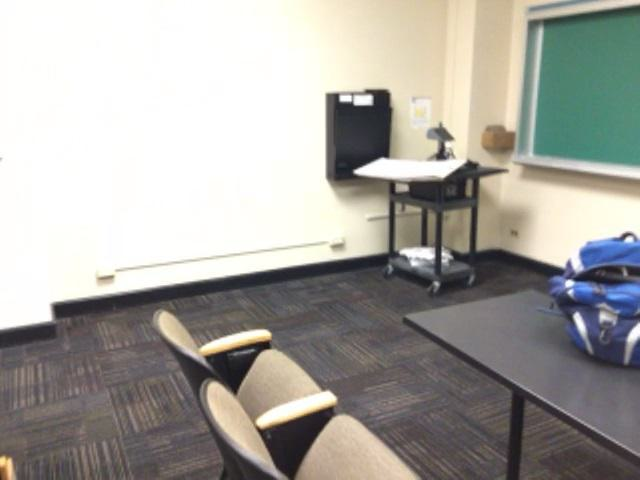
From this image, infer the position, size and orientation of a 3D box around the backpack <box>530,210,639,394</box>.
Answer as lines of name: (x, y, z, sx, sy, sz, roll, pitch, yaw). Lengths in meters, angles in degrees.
backpack: (0.850, 0.160, 1.620, 0.380, 0.380, 0.340, 11, 20, 34)
